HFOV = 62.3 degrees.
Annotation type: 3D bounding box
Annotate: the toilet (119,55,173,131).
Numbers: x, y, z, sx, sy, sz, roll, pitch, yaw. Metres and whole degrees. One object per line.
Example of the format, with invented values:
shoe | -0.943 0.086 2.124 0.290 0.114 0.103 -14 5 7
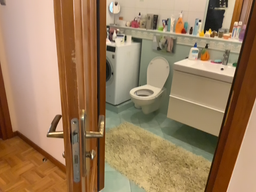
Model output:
toilet | 0.230 -0.070 2.760 0.380 0.800 0.550 20 28 34
